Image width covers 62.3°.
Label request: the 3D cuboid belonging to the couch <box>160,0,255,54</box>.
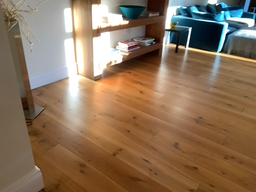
[{"bbox_3d":[2.480,-2.130,6.000,1.400,0.860,3.640,22,33,31],"label":"couch"}]
